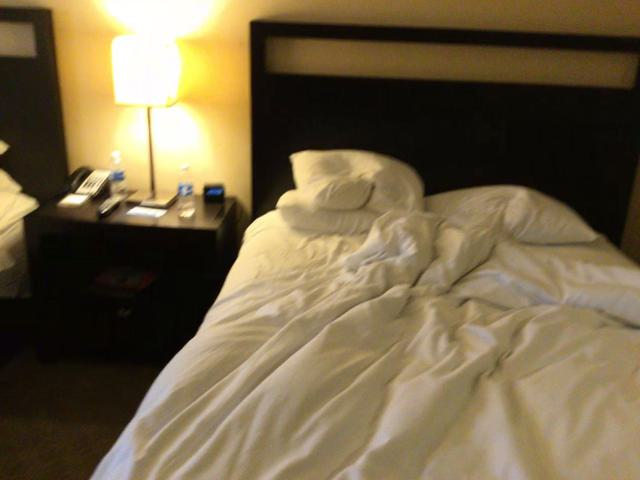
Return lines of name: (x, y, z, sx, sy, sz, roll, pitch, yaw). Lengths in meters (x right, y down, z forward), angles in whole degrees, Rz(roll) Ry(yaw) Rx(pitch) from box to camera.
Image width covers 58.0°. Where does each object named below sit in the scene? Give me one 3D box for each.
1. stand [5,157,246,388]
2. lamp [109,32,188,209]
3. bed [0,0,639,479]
stand: (-0.780, 0.110, 2.520, 0.800, 0.790, 0.570, 4, 18, 2)
lamp: (-0.700, -0.500, 2.410, 0.220, 0.670, 0.290, 4, 18, 2)
bed: (0.420, 0.130, 1.620, 1.780, 1.520, 2.200, 4, 18, 2)
